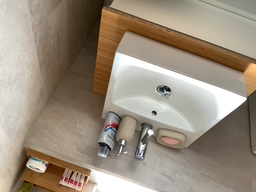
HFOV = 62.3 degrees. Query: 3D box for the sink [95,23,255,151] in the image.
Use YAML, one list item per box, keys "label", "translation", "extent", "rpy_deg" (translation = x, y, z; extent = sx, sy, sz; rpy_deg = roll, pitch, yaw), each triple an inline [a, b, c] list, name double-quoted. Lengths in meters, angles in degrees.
- label: "sink"
  translation: [0.130, 0.010, 0.860]
  extent: [0.470, 0.130, 0.460]
  rpy_deg: [20, 144, -2]
